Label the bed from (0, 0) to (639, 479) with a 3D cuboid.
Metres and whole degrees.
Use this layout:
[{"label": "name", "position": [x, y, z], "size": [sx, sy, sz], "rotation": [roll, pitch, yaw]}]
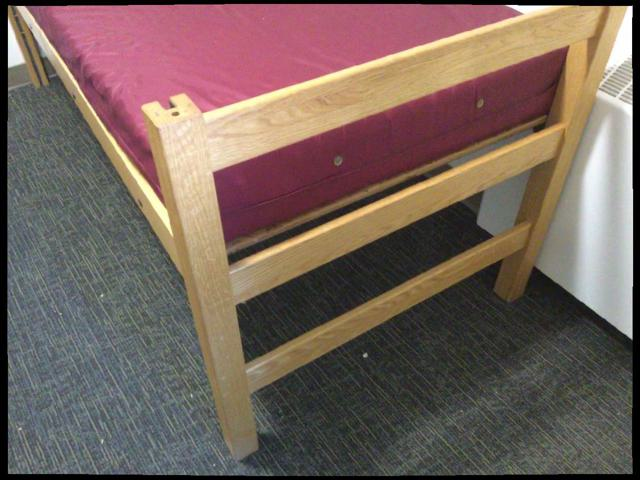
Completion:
[{"label": "bed", "position": [-0.289, -0.551, 1.860], "size": [1.149, 0.961, 2.540], "rotation": [-27, 49, -23]}]
